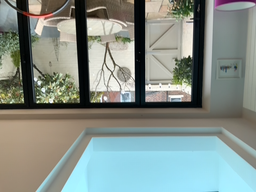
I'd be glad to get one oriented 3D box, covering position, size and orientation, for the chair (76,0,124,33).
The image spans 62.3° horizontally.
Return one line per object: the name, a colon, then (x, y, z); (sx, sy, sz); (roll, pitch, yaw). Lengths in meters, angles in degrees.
chair: (-0.510, -1.750, 3.980); (0.600, 0.980, 0.660); (4, -171, 31)
